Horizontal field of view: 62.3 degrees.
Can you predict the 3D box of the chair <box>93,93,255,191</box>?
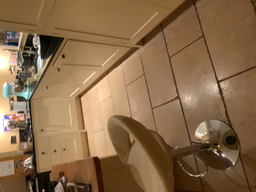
[{"bbox_3d":[0.310,0.330,1.390,0.520,0.860,0.490,46,128,45],"label":"chair"}]
